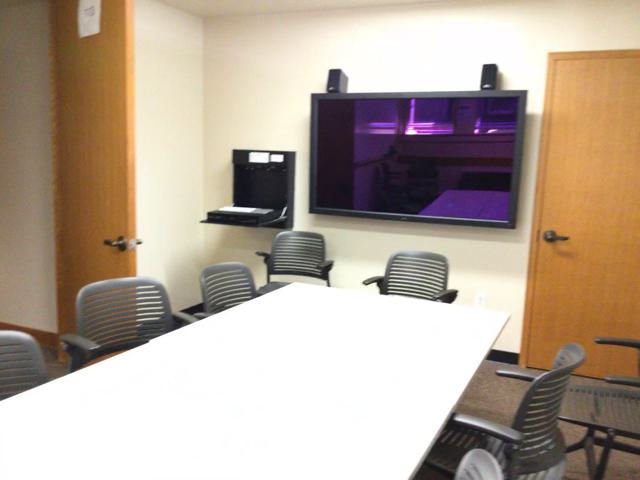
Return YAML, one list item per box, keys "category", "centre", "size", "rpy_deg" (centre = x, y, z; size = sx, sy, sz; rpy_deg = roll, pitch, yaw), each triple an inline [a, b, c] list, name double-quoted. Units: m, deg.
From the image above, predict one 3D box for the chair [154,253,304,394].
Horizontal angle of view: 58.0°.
- category: "chair"
  centre: [-0.440, 0.380, 2.920]
  size: [0.460, 0.510, 0.620]
  rpy_deg: [6, 8, 26]

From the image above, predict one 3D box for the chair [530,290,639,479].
- category: "chair"
  centre: [1.190, 0.720, 2.290]
  size: [0.580, 0.880, 0.600]
  rpy_deg: [6, 8, 26]

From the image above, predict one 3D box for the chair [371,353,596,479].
- category: "chair"
  centre: [0.560, 0.820, 1.940]
  size: [0.590, 0.620, 0.650]
  rpy_deg: [6, 8, 26]

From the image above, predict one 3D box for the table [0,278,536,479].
- category: "table"
  centre: [-0.150, 0.800, 2.060]
  size: [1.410, 0.780, 2.430]
  rpy_deg: [6, 8, 26]

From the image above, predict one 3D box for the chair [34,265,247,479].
- category: "chair"
  centre: [-0.780, 0.580, 2.530]
  size: [0.620, 0.800, 0.640]
  rpy_deg: [9, 10, 40]

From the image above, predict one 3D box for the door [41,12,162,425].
- category: "door"
  centre: [-1.250, -0.120, 3.260]
  size: [0.830, 2.070, 0.270]
  rpy_deg: [10, 10, 42]

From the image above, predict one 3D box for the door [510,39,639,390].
- category: "door"
  centre: [1.830, -0.140, 3.520]
  size: [1.090, 2.070, 0.130]
  rpy_deg: [6, 8, 26]
